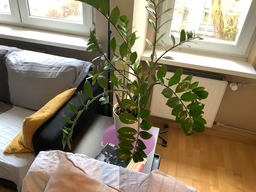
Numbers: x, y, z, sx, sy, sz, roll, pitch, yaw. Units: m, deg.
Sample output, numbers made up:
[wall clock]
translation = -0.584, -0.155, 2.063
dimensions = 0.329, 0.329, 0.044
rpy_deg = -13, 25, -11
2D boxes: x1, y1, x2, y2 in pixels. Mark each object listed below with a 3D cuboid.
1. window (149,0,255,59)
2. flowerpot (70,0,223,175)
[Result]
[window]
translation = 0.720, -1.150, 1.600
dimensions = 0.900, 1.620, 0.230
rpy_deg = 12, 34, 11
[flowerpot]
translation = 0.070, -0.190, 1.180
dimensions = 0.590, 1.240, 0.420
rpy_deg = 10, 33, 8
